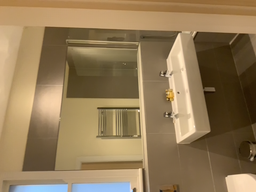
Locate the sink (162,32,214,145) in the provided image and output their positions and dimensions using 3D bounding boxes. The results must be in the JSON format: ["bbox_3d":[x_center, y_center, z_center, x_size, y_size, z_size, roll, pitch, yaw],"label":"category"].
[{"bbox_3d":[0.540,-0.070,2.080,0.470,0.190,0.990,104,165,-65],"label":"sink"}]
